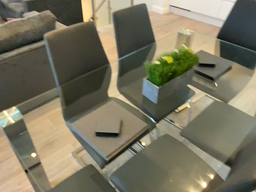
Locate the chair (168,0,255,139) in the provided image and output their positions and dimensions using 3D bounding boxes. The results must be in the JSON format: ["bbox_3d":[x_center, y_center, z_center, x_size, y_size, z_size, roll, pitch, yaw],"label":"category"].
[{"bbox_3d":[0.760,-0.250,1.810,0.480,1.040,0.530,32,48,32],"label":"chair"}]

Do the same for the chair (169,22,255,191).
[{"bbox_3d":[0.680,0.190,1.300,0.460,1.030,0.550,-30,48,-33],"label":"chair"}]

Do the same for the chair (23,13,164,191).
[{"bbox_3d":[-0.190,0.090,1.400,0.460,1.020,0.570,-31,49,-33],"label":"chair"}]

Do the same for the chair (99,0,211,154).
[{"bbox_3d":[0.160,-0.150,1.690,0.460,1.030,0.560,-31,49,-33],"label":"chair"}]
